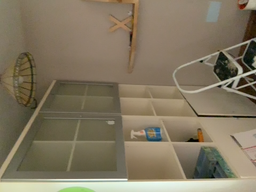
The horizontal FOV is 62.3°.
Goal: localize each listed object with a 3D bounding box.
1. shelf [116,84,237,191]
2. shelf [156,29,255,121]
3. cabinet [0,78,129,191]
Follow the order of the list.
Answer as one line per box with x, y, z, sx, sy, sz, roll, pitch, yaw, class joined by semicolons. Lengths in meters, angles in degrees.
0.260;0.360;2.010;1.440;0.680;0.400;-102;14;-64;shelf
0.960;-0.230;2.070;0.940;0.910;0.430;49;130;48;shelf
-0.440;0.320;1.920;1.440;0.740;0.460;-102;14;-64;cabinet
